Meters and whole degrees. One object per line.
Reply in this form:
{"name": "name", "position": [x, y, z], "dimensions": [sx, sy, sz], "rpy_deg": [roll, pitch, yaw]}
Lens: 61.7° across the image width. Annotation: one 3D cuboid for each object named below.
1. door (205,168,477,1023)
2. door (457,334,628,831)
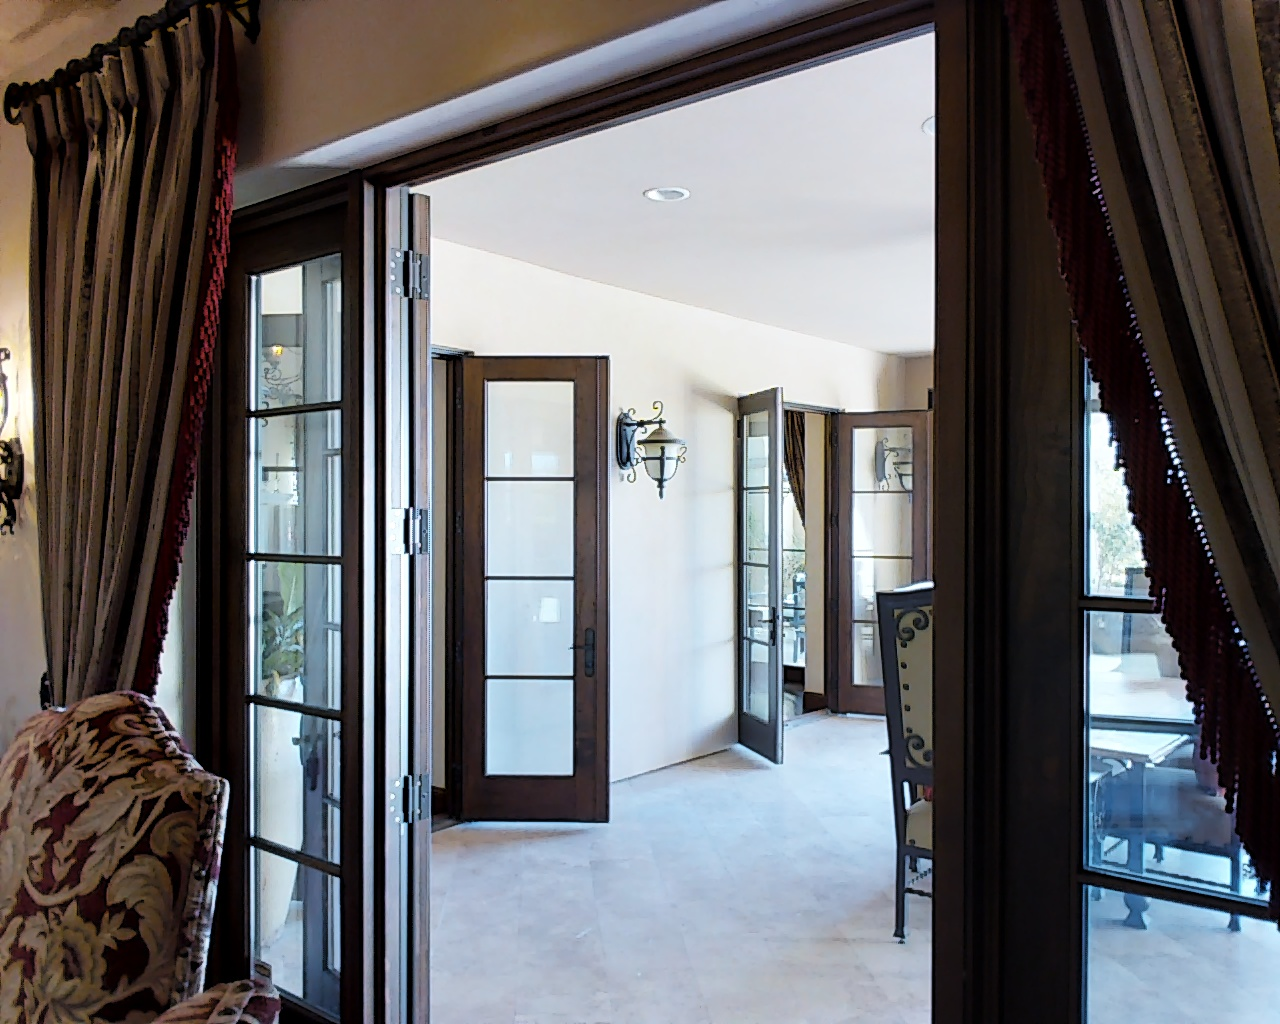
{"name": "door", "position": [-0.840, 0.270, 2.980], "dimensions": [0.720, 2.230, 0.350], "rpy_deg": [0, 0, 35]}
{"name": "door", "position": [-0.490, 0.350, 5.410], "dimensions": [0.850, 2.470, 0.110], "rpy_deg": [0, 0, 4]}
